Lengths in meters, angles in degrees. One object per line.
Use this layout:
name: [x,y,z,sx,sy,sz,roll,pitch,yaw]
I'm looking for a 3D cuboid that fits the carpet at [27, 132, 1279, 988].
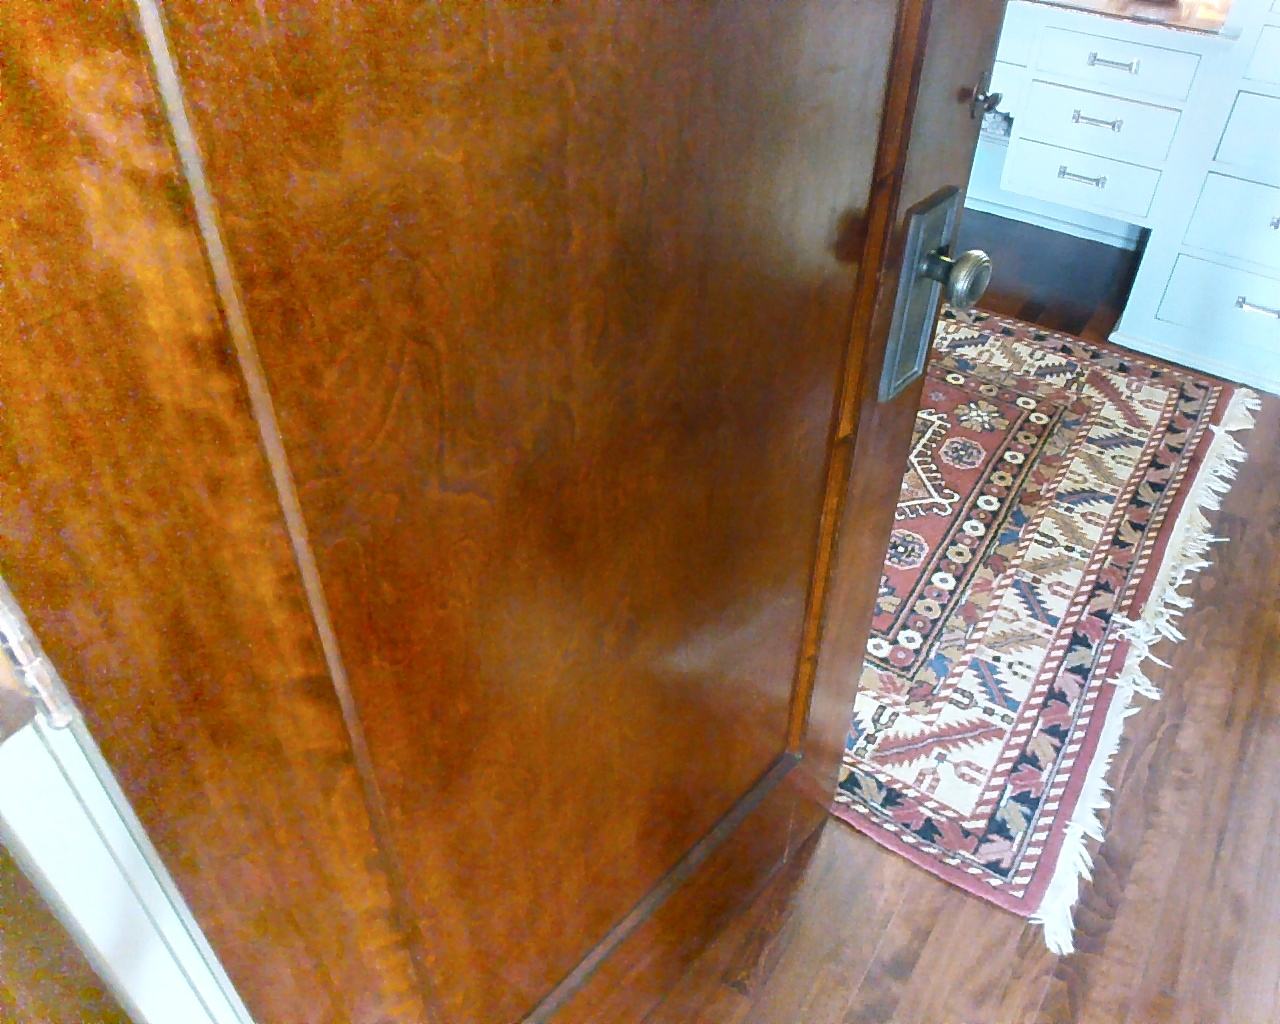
carpet: [0.070,-0.300,2.650,2.600,0.030,1.760,25,48,24]
